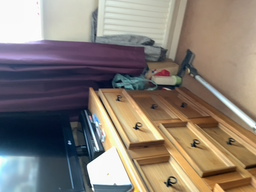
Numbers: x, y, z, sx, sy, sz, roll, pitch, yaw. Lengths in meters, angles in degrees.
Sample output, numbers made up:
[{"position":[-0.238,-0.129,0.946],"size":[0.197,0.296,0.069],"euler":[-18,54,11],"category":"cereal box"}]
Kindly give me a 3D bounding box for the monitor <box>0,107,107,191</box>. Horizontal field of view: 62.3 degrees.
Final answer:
[{"position":[-0.520,0.290,1.310],"size":[0.750,0.610,0.030],"euler":[-127,38,-56],"category":"monitor"}]
